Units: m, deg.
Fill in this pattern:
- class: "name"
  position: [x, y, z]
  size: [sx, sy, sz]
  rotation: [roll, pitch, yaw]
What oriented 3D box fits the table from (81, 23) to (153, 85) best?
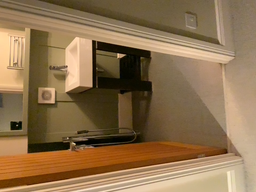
- class: "table"
  position: [-0.130, -0.440, 2.470]
  size: [0.420, 0.710, 0.530]
  rotation: [-13, 77, 58]
